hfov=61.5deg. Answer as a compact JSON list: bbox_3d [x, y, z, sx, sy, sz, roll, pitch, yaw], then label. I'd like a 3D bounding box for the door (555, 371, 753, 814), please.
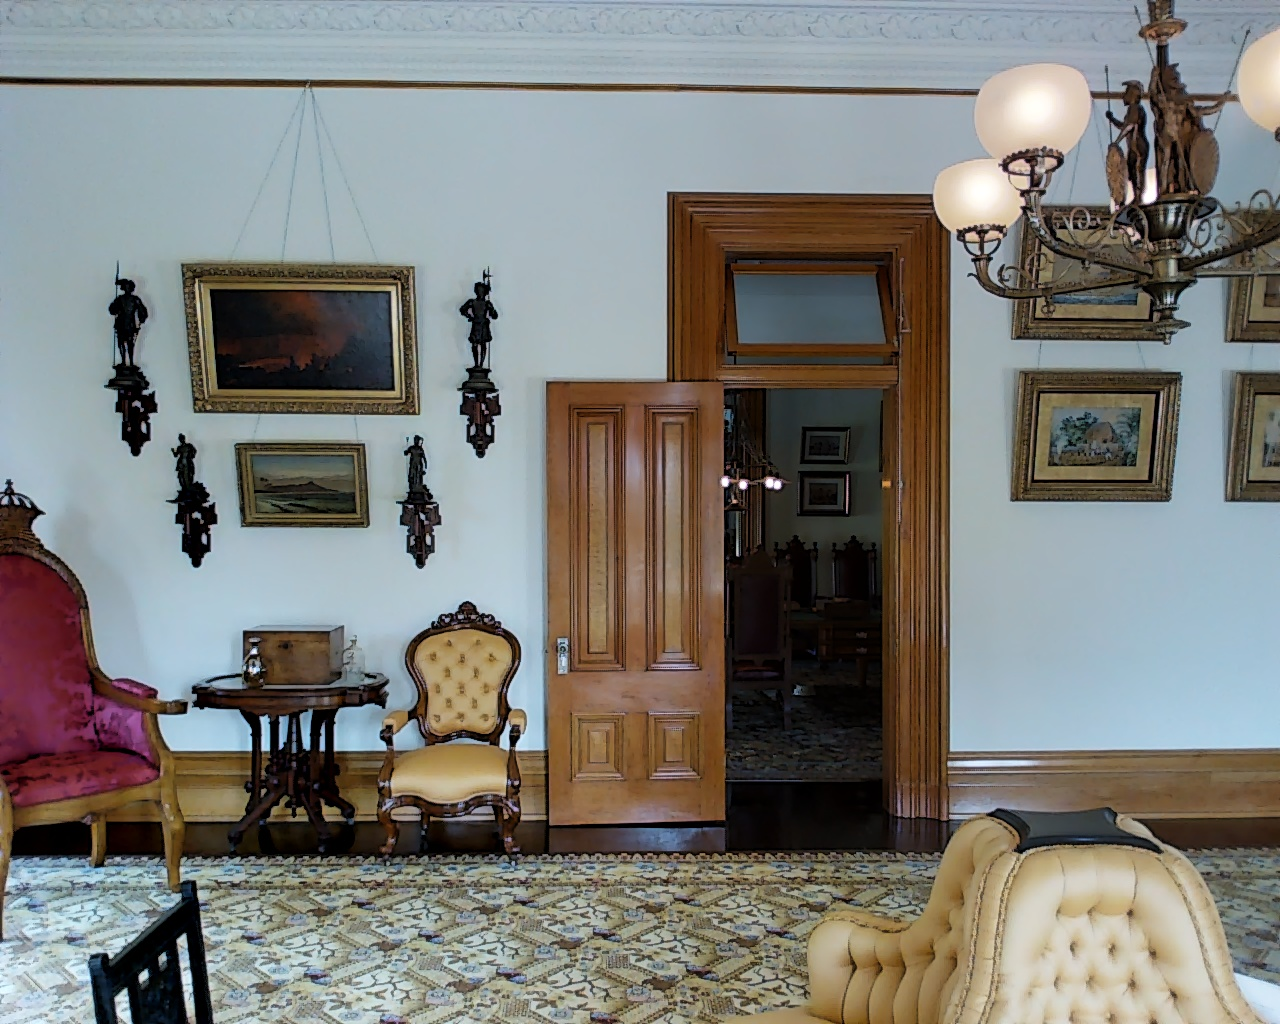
[{"bbox_3d":[0.070,0.410,5.540,0.990,2.240,0.140,1,0,-4],"label":"door"}]

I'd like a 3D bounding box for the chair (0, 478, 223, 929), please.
[{"bbox_3d":[-2.410,0.690,4.510,1.060,1.620,0.860,0,0,45],"label":"chair"}]

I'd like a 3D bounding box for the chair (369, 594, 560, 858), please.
[{"bbox_3d":[-0.810,0.980,5.190,0.770,1.100,0.850,1,0,0],"label":"chair"}]

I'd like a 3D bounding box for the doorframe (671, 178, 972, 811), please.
[{"bbox_3d":[0.940,-0.090,5.720,1.510,3.240,0.370,1,0,0],"label":"doorframe"}]
